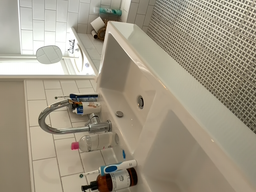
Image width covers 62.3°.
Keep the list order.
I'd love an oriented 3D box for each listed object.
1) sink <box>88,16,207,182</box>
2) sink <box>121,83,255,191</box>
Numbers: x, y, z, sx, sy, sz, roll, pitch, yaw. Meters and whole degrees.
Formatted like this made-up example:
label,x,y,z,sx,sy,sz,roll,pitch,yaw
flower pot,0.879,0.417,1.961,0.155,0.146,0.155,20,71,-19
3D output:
label,x,y,z,sx,sy,sz,roll,pitch,yaw
sink,0.010,-0.010,0.990,0.550,0.190,0.510,57,142,44
sink,0.220,0.330,0.610,0.540,0.190,0.510,57,142,44
